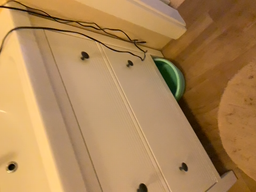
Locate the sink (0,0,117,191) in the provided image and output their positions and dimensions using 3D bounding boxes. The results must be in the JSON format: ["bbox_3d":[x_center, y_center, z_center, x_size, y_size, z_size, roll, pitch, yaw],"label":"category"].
[{"bbox_3d":[-0.310,0.180,0.670,0.490,0.130,0.820,-39,66,34],"label":"sink"}]
